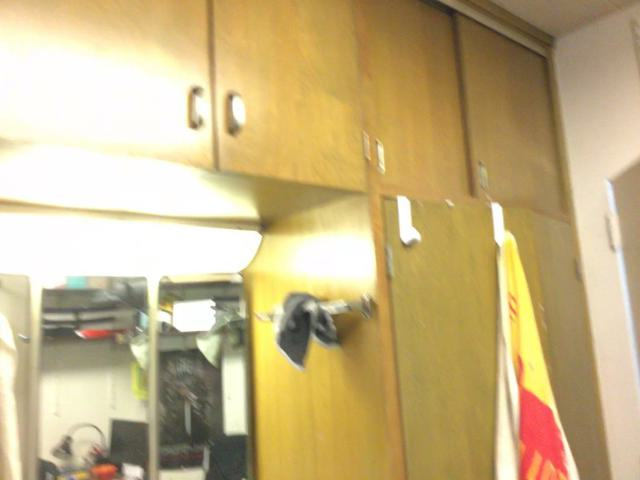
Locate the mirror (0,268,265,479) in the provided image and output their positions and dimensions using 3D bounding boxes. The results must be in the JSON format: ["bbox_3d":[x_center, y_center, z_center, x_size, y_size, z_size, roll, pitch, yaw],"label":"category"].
[{"bbox_3d":[-0.570,0.490,1.440,0.860,0.810,0.240,3,-13,-42],"label":"mirror"}]

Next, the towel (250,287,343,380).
[{"bbox_3d":[-0.060,0.230,1.430,0.160,0.210,0.140,3,-13,-42],"label":"towel"}]

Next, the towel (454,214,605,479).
[{"bbox_3d":[0.570,0.570,1.460,0.280,1.250,0.160,3,-13,-42],"label":"towel"}]

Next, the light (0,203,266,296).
[{"bbox_3d":[-0.560,0.040,1.470,0.850,0.170,0.250,3,-13,-42],"label":"light"}]
